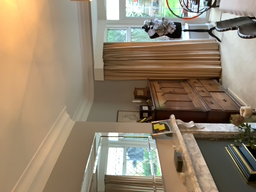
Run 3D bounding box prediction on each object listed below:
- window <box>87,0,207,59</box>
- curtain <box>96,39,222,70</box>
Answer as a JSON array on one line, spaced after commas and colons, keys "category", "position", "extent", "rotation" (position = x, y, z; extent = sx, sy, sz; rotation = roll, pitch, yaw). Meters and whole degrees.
[{"category": "window", "position": [0.340, -2.160, 4.150], "extent": [1.190, 2.110, 2.580], "rotation": [-88, -1, -63]}, {"category": "curtain", "position": [0.610, -0.860, 4.370], "extent": [0.230, 2.470, 0.570], "rotation": [89, -178, -70]}]
